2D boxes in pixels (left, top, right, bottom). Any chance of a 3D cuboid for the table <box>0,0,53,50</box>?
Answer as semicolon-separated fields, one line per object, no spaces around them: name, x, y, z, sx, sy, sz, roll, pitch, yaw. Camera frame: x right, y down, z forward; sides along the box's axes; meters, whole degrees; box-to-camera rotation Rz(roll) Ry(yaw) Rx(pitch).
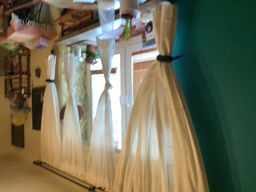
table;-1.410;-1.060;2.750;0.840;0.730;0.490;-1;179;43
